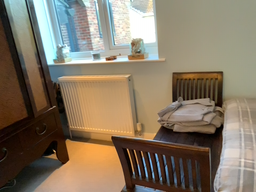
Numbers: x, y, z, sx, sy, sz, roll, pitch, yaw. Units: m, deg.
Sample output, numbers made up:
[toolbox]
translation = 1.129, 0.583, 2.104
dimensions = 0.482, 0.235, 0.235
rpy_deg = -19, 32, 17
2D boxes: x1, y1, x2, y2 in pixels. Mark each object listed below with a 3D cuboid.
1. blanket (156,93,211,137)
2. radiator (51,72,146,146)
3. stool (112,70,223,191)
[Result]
[blanket]
translation = 0.430, 0.120, 1.580
dimensions = 0.300, 0.130, 0.430
rpy_deg = 3, 21, 28
[radiator]
translation = -0.300, 0.120, 2.150
dimensions = 0.910, 0.680, 0.150
rpy_deg = 1, 21, 23
[stool]
translation = 0.380, 0.330, 1.390
dimensions = 0.390, 0.750, 1.090
rpy_deg = 2, 21, 26
